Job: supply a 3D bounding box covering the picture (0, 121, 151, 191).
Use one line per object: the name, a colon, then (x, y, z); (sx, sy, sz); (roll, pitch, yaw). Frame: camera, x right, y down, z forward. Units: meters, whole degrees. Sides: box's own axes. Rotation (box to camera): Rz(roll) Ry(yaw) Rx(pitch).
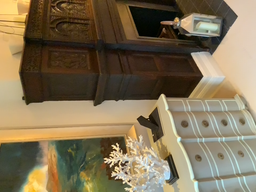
picture: (-0.410, 0.740, 1.490); (0.010, 1.220, 1.250); (110, 153, -48)
